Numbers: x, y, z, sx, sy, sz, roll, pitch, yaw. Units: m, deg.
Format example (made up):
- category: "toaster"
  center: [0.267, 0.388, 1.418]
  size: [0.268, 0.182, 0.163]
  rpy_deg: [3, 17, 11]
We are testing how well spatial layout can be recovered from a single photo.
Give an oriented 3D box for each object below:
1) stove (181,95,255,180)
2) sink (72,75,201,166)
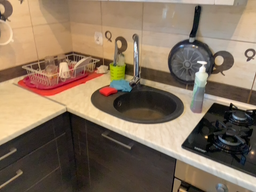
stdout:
- category: "stove"
  center: [0.630, 0.190, 0.950]
  size: [0.600, 0.050, 0.540]
  rpy_deg: [19, 31, 31]
- category: "sink"
  center: [0.060, 0.090, 1.370]
  size: [0.630, 0.180, 0.520]
  rpy_deg: [19, 31, 31]
